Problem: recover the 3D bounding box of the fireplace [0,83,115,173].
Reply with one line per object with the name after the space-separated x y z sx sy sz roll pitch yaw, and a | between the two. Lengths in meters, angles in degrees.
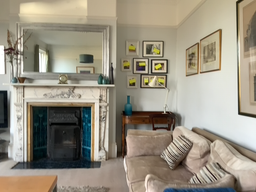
-1.170 0.480 3.660 1.840 1.360 0.780 1 2 -6 | fireplace
